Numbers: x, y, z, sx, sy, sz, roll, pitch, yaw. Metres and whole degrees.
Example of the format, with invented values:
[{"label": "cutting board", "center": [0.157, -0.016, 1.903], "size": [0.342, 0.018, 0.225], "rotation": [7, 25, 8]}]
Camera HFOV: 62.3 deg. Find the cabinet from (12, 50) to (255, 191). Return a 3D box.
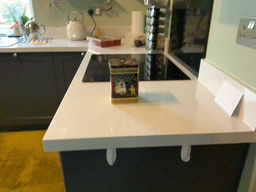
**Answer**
[{"label": "cabinet", "center": [0.000, 0.280, 1.320], "size": [0.680, 0.860, 1.340], "rotation": [-1, 24, -4]}]
